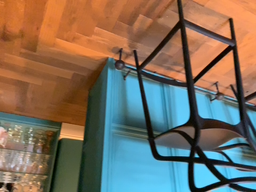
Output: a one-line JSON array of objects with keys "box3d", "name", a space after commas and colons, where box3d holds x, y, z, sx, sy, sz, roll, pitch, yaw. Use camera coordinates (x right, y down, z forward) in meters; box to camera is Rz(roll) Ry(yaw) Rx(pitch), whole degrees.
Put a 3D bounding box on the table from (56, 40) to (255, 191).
[{"box3d": [0.610, 0.480, 1.760, 2.150, 1.100, 0.610, 14, 145, -23], "name": "table"}]
